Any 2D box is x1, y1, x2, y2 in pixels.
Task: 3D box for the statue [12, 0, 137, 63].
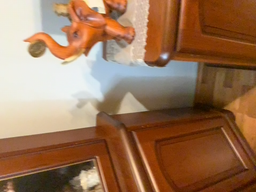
[{"bbox_3d":[-0.180,-0.250,0.740,0.170,0.380,0.240,19,108,56],"label":"statue"}]
